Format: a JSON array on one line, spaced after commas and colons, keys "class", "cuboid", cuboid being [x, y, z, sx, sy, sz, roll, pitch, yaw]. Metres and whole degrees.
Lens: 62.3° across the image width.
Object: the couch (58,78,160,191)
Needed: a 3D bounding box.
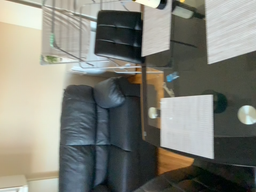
[{"class": "couch", "cuboid": [-0.260, 0.610, 2.490, 0.980, 0.840, 1.420, -11, 77, 60]}]
